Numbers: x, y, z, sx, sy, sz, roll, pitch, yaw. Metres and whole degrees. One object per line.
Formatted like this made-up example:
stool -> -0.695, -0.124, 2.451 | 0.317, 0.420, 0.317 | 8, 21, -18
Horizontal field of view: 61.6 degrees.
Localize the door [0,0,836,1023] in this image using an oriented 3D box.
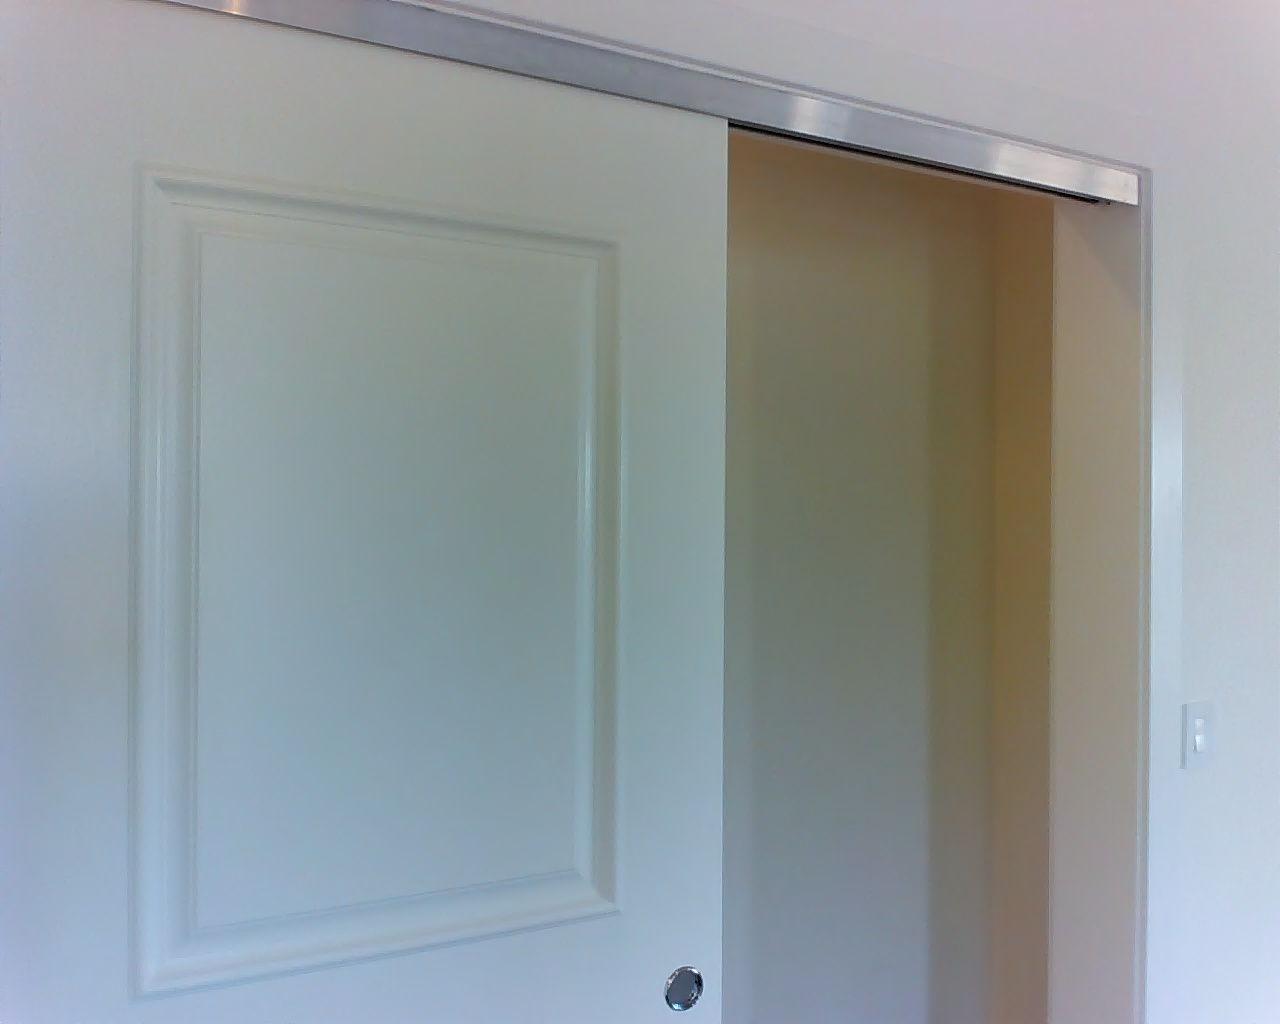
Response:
door -> -0.200, 0.510, 1.340 | 1.070, 2.060, 0.050 | 0, 0, -28
